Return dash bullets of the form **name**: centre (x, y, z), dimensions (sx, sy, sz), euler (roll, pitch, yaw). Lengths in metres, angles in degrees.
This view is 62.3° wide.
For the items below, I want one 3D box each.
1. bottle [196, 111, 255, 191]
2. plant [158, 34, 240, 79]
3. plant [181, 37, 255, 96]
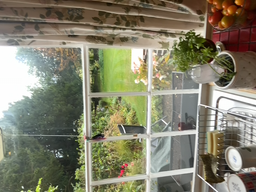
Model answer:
- **bottle**: centre (0.410, 0.230, 0.750), dimensions (0.340, 0.140, 0.270), euler (-146, 56, -71)
- **plant**: centre (0.290, -0.170, 0.900), dimensions (0.150, 0.270, 0.160), euler (-130, 41, -66)
- **plant**: centre (0.340, -0.100, 0.720), dimensions (0.160, 0.250, 0.170), euler (-146, 56, -71)
